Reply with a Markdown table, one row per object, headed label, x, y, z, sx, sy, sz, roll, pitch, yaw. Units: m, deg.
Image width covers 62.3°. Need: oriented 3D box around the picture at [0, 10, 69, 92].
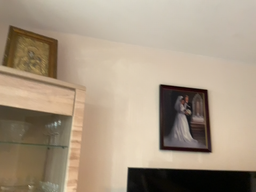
| label | x | y | z | sx | sy | sz | roll | pitch | yaw |
| --- | --- | --- | --- | --- | --- | --- | --- | --- | --- |
| picture | -0.680 | -0.300 | 1.530 | 0.400 | 0.440 | 0.200 | 13 | -19 | -34 |
